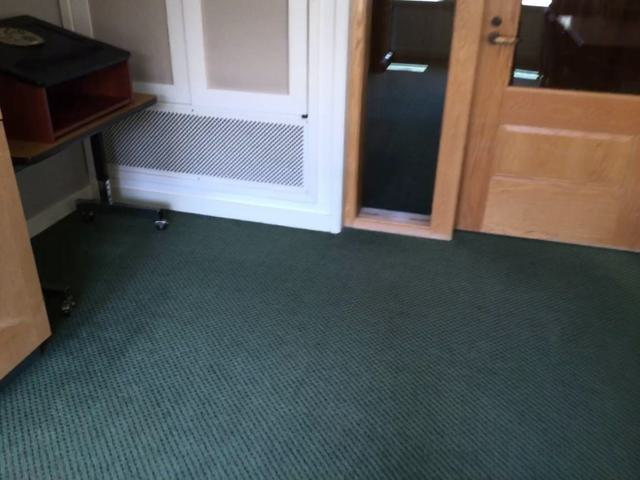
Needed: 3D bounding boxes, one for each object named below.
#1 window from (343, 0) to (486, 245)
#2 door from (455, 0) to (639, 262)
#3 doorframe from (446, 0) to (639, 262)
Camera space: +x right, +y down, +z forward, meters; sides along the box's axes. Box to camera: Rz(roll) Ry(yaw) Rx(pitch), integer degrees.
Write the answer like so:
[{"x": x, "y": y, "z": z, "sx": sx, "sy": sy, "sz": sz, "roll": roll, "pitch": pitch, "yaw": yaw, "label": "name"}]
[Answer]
[{"x": 0.410, "y": -0.600, "z": 2.630, "sx": 0.520, "sy": 1.210, "sz": 0.210, "roll": 7, "pitch": 26, "yaw": 11, "label": "window"}, {"x": 1.070, "y": -0.510, "z": 2.470, "sx": 0.810, "sy": 1.160, "sz": 0.160, "roll": 7, "pitch": 26, "yaw": 11, "label": "door"}, {"x": 1.060, "y": -0.520, "z": 2.470, "sx": 0.870, "sy": 1.190, "sz": 0.140, "roll": 7, "pitch": 26, "yaw": 11, "label": "doorframe"}]
